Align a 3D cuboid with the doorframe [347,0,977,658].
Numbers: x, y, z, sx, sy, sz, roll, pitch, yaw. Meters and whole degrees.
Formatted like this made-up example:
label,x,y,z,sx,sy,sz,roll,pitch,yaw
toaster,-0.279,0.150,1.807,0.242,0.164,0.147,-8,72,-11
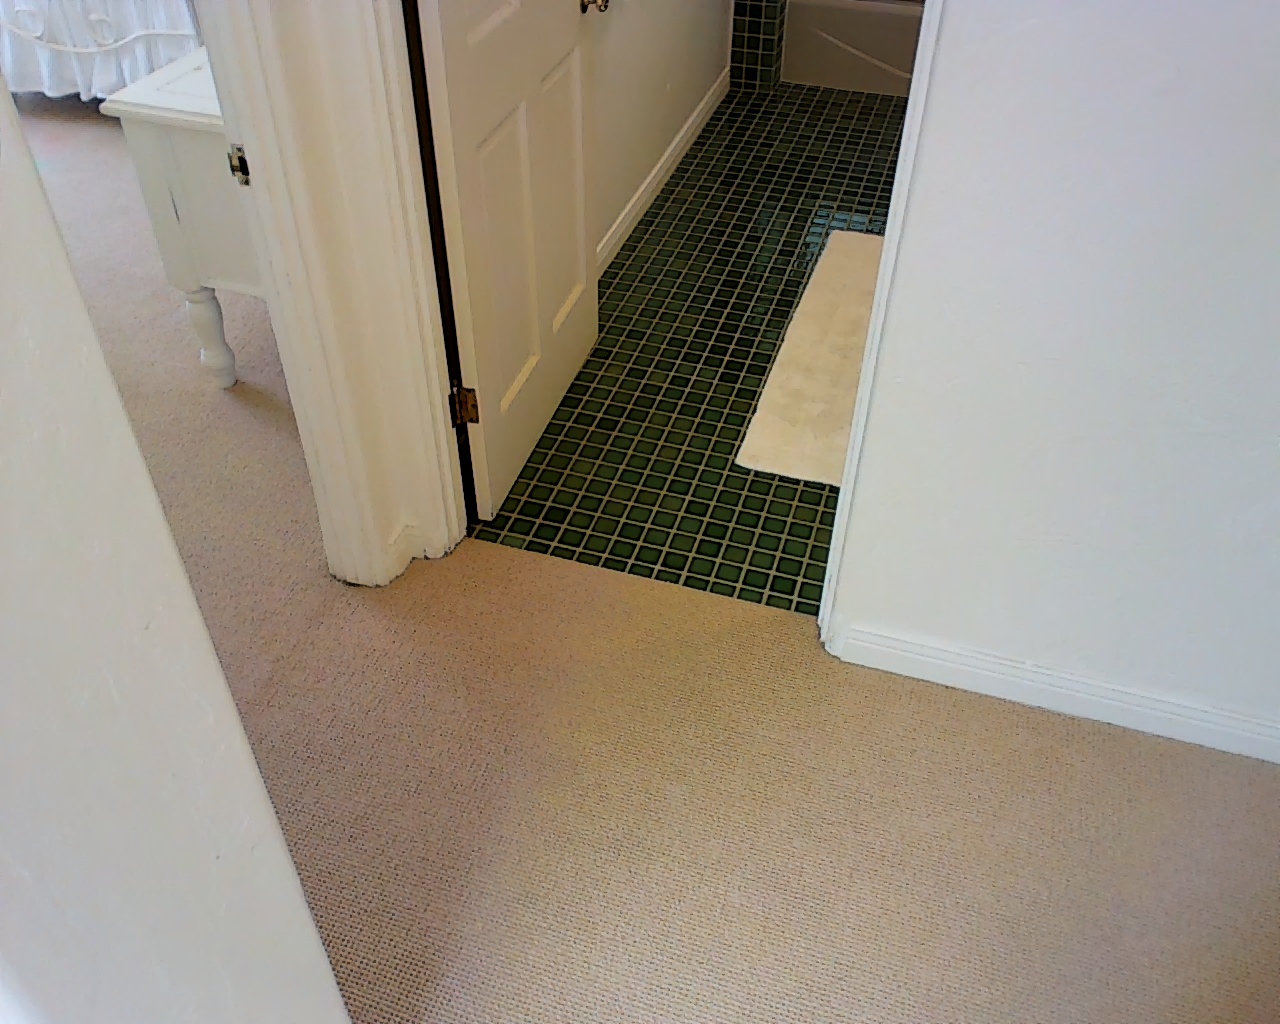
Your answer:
label,x,y,z,sx,sy,sz,roll,pitch,yaw
doorframe,0.010,-0.620,1.610,0.890,2.070,0.130,12,43,13
